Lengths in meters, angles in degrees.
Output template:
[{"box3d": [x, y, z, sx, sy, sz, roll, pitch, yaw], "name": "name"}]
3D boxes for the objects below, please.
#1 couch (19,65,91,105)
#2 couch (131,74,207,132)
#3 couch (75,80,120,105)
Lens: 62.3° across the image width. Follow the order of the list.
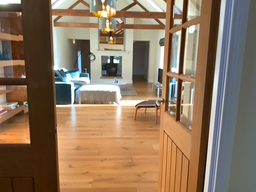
[{"box3d": [-2.250, -0.530, 7.500, 1.400, 0.860, 3.640, 1, 11, -2], "name": "couch"}, {"box3d": [0.860, 0.070, 4.480, 1.360, 0.940, 0.830, 7, 13, 26], "name": "couch"}, {"box3d": [-0.880, -0.150, 6.600, 1.240, 0.520, 1.340, 1, 11, -2], "name": "couch"}]
